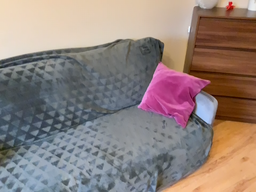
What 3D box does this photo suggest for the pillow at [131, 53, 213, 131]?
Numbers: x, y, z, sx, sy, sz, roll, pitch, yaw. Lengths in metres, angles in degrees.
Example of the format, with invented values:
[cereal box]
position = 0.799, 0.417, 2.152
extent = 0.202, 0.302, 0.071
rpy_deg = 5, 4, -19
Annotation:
[pillow]
position = 0.300, -0.040, 1.510
extent = 0.190, 0.390, 0.380
rpy_deg = 36, 5, -45

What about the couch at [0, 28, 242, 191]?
[couch]
position = -0.530, 0.270, 1.320
extent = 0.980, 2.150, 0.900
rpy_deg = 41, -41, 46
